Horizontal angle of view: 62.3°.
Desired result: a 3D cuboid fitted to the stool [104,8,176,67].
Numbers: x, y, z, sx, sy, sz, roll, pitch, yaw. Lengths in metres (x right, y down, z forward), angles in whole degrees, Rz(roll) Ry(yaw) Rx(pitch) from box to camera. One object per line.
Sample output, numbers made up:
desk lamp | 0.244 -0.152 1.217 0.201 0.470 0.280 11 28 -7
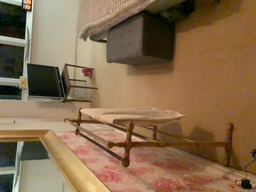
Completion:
stool | 0.090 -0.570 2.270 0.760 0.400 0.400 5 91 60
